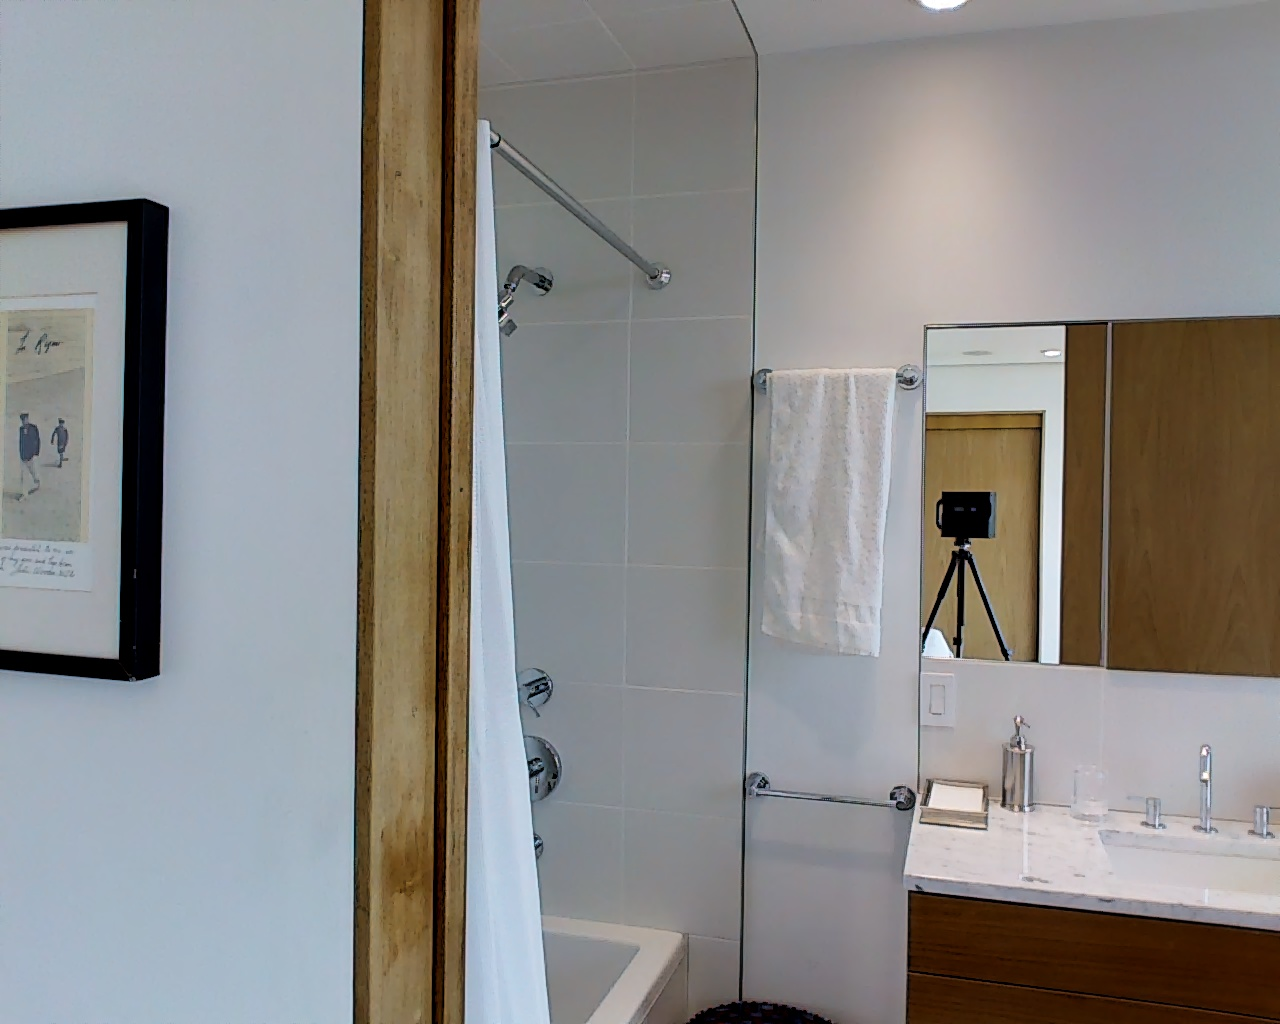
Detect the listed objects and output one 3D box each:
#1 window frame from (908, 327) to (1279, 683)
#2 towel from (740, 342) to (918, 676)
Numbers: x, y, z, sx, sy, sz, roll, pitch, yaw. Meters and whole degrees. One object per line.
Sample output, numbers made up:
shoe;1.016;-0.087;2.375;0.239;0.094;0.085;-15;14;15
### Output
window frame;1.090;-0.020;2.350;0.960;0.740;0.090;1;0;17
towel;0.440;-0.010;2.500;0.380;0.740;0.130;1;0;17
